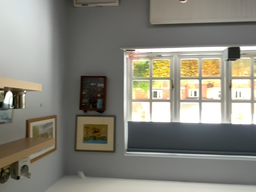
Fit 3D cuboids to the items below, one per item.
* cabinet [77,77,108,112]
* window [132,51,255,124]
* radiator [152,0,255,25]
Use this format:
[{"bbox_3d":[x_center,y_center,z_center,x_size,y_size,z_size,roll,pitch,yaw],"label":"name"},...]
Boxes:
[{"bbox_3d":[-0.420,-0.020,2.510,0.360,0.410,0.060,1,179,8],"label":"cabinet"},{"bbox_3d":[0.890,-0.110,2.620,1.660,0.870,0.050,1,179,5],"label":"window"},{"bbox_3d":[0.900,-1.110,2.350,1.260,0.590,0.090,1,179,6],"label":"radiator"}]
